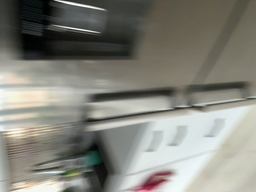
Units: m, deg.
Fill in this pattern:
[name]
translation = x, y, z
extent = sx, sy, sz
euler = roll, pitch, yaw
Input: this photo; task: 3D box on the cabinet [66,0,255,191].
[cabinet]
translation = 0.030, 0.510, 1.650
extent = 0.580, 0.760, 2.260
euler = 57, 141, 40
